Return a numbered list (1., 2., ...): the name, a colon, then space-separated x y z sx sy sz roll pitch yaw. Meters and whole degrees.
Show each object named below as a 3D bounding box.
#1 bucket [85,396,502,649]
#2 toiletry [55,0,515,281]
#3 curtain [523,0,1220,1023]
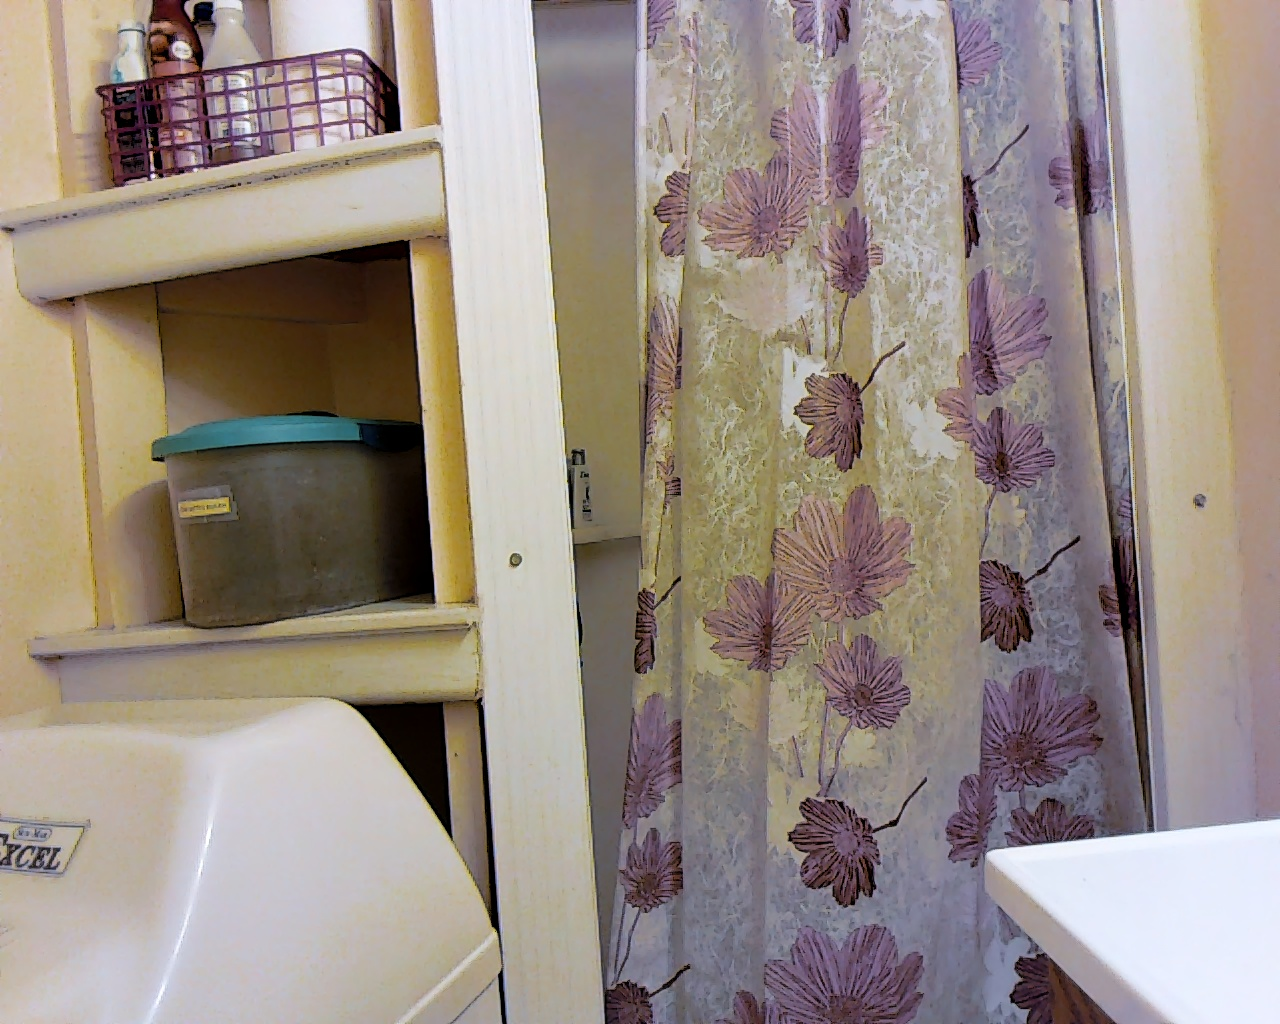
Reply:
1. bucket: -0.390 0.010 1.300 0.270 0.240 0.400 -5 0 20
2. toiletry: -0.430 -0.520 1.370 0.390 0.330 0.370 -5 0 19
3. curtain: 0.230 0.020 1.380 0.620 1.830 0.560 -5 0 -2
